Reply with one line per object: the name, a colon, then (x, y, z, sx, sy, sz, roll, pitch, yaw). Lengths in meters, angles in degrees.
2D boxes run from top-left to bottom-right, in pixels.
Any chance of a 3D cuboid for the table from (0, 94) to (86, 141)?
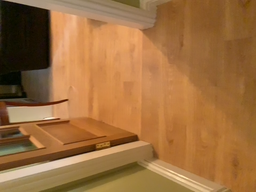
table: (-0.890, 0.170, 2.130, 0.590, 0.720, 0.280, 10, 100, 49)
